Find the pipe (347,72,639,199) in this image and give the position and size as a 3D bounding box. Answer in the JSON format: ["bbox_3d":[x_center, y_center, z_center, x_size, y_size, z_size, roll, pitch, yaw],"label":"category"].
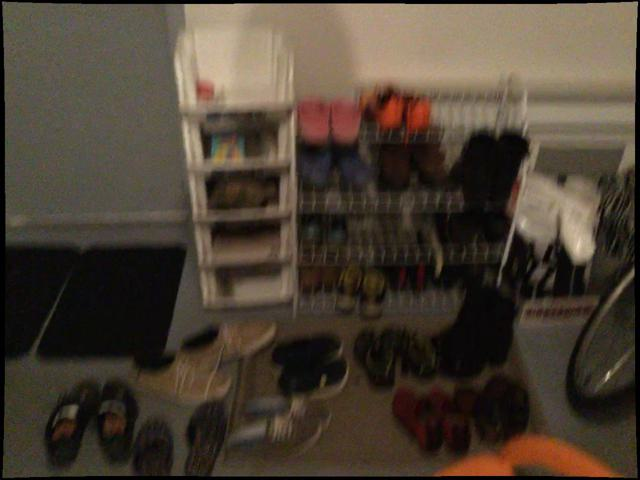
[{"bbox_3d":[1.149,-0.350,1.860,2.108,0.330,0.170,-2,37,-3],"label":"pipe"}]

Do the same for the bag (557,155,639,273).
[{"bbox_3d":[1.039,-0.090,1.980,0.290,0.330,0.220,-2,37,-3],"label":"bag"}]
